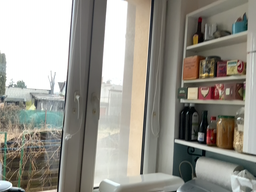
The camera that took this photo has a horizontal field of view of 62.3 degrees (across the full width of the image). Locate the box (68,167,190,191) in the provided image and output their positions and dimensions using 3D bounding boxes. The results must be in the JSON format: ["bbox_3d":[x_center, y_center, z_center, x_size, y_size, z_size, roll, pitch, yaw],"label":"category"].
[{"bbox_3d":[0.000,0.500,1.070,0.550,0.180,0.260,5,-2,-23],"label":"box"}]
